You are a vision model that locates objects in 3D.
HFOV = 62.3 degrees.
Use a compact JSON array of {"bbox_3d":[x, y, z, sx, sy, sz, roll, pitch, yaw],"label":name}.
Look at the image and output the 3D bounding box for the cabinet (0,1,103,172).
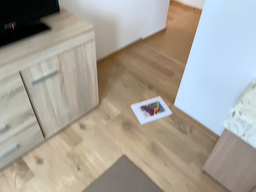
[{"bbox_3d":[-0.720,-0.060,1.390,1.010,0.730,0.470,-33,56,-32],"label":"cabinet"}]
